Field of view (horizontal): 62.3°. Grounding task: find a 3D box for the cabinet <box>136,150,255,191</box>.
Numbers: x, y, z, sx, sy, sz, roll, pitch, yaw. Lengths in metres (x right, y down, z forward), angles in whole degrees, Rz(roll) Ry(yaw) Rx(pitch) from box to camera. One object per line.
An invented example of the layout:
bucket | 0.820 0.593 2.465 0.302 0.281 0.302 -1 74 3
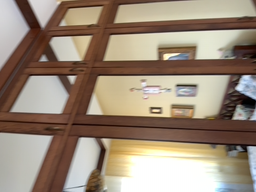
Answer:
cabinet | 1.290 1.390 3.380 0.500 2.210 0.730 79 -163 -49
